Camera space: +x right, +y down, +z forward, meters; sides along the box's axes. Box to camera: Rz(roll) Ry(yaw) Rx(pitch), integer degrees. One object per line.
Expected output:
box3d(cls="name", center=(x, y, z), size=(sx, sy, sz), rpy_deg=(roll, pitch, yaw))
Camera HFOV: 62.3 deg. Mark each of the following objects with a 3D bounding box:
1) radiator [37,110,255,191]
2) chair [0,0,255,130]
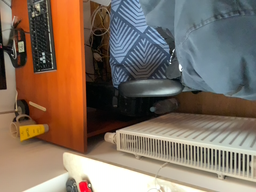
box3d(cls="radiator", center=(0.240, 0.210, 1.020), size=(0.780, 0.980, 0.120), rpy_deg=(-1, 95, 37))
box3d(cls="chair", center=(0.170, -0.330, 0.980), size=(0.860, 1.080, 0.710), rpy_deg=(-4, 93, 37))
